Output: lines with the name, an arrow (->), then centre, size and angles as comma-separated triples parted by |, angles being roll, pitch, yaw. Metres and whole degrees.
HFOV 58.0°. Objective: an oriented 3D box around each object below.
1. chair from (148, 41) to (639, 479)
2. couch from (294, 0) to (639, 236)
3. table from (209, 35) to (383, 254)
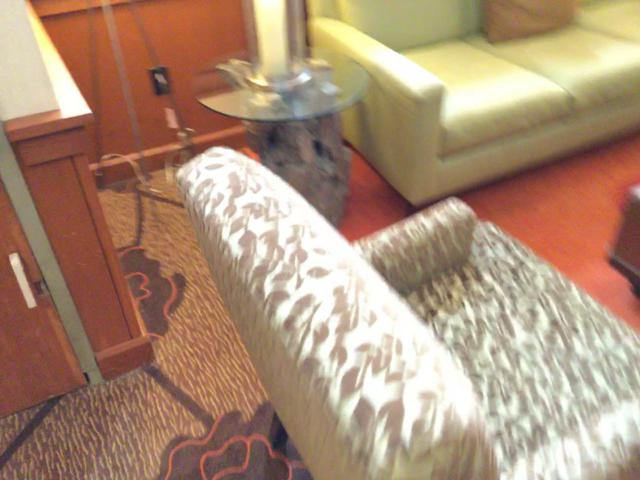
chair -> 0.280, 0.240, 1.250 | 0.920, 0.930, 0.770 | -19, 42, -19
couch -> 1.060, -1.010, 2.630 | 2.110, 1.010, 1.020 | -19, 42, -19
table -> -0.090, -0.390, 2.280 | 0.460, 0.600, 0.510 | -19, 42, -19
